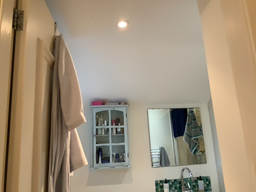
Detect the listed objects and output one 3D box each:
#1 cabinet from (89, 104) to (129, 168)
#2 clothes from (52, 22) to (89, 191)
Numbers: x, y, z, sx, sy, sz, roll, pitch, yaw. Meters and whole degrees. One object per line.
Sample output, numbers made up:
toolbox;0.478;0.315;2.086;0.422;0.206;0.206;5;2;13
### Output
cabinet;-0.200;0.390;2.150;0.380;0.600;0.140;-1;-11;-9
clothes;-0.280;0.050;1.080;0.120;0.760;0.290;-2;-11;-5
